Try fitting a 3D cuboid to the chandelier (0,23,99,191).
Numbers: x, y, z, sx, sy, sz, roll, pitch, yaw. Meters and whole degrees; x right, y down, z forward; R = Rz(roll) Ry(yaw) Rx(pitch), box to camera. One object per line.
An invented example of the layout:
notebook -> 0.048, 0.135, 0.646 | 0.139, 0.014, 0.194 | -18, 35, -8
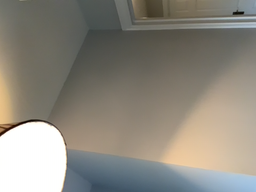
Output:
chandelier -> -0.370, 0.050, 0.600 | 0.350, 0.410, 0.370 | -69, 158, -46
